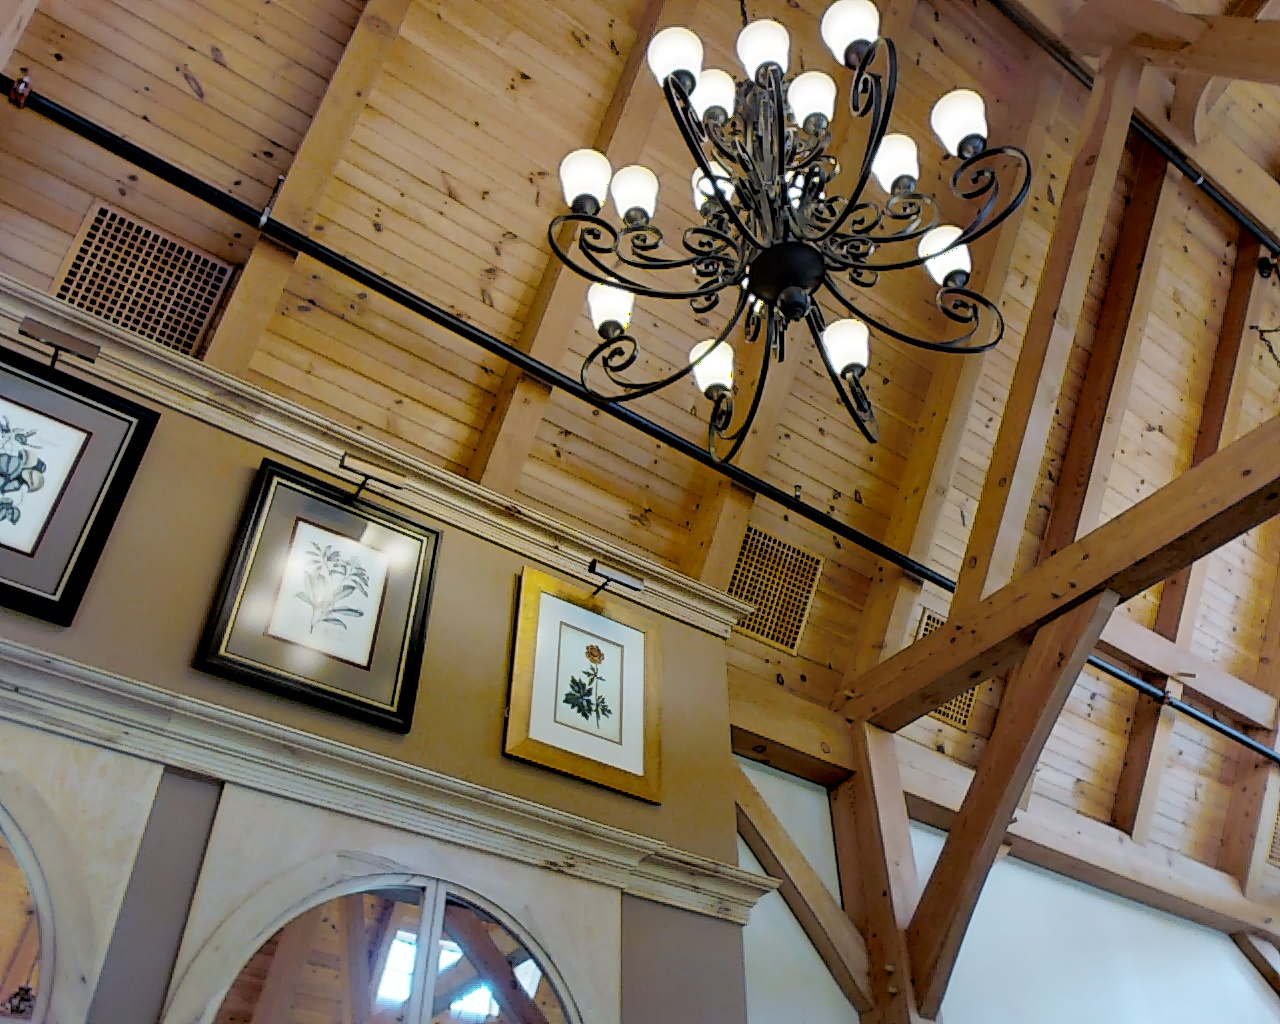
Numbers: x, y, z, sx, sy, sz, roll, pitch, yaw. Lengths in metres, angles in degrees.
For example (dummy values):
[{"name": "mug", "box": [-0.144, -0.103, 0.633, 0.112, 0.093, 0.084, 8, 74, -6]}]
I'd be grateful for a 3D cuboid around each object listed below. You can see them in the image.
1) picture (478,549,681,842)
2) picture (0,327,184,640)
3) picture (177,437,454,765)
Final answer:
[{"name": "picture", "box": [-0.180, 0.610, 3.640, 0.670, 0.840, 0.140, 26, -48, -26]}, {"name": "picture", "box": [-1.699, -0.140, 2.810, 0.750, 0.780, 0.110, 26, -48, -26]}, {"name": "picture", "box": [-0.930, 0.250, 3.250, 0.670, 0.900, 0.070, 26, -48, -26]}]
